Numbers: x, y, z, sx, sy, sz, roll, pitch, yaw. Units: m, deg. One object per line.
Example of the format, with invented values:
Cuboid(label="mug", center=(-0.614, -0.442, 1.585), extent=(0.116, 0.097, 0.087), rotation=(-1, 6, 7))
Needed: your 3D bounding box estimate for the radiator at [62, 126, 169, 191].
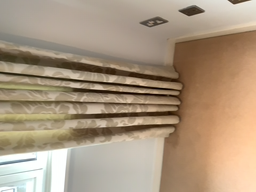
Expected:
Cuboid(label="radiator", center=(-0.060, 0.660, 1.460), extent=(0.070, 0.810, 0.870), rotation=(12, 97, 48))
